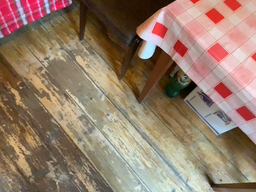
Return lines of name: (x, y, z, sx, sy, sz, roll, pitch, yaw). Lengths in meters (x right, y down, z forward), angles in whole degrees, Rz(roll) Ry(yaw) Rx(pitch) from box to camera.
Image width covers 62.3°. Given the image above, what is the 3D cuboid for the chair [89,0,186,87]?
chair: (0.030, -0.450, 1.260, 0.350, 0.820, 0.370, 44, 68, 9)
